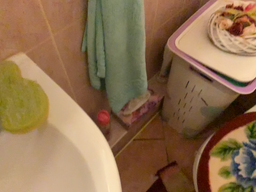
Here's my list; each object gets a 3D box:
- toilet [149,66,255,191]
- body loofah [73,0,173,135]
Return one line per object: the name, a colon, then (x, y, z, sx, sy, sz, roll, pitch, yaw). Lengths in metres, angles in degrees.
toilet: (0.510, 0.190, 0.830, 0.380, 0.760, 0.740, 40, 65, 19)
body loofah: (-0.010, -0.140, 0.650, 0.130, 0.800, 0.210, 38, 64, 18)
